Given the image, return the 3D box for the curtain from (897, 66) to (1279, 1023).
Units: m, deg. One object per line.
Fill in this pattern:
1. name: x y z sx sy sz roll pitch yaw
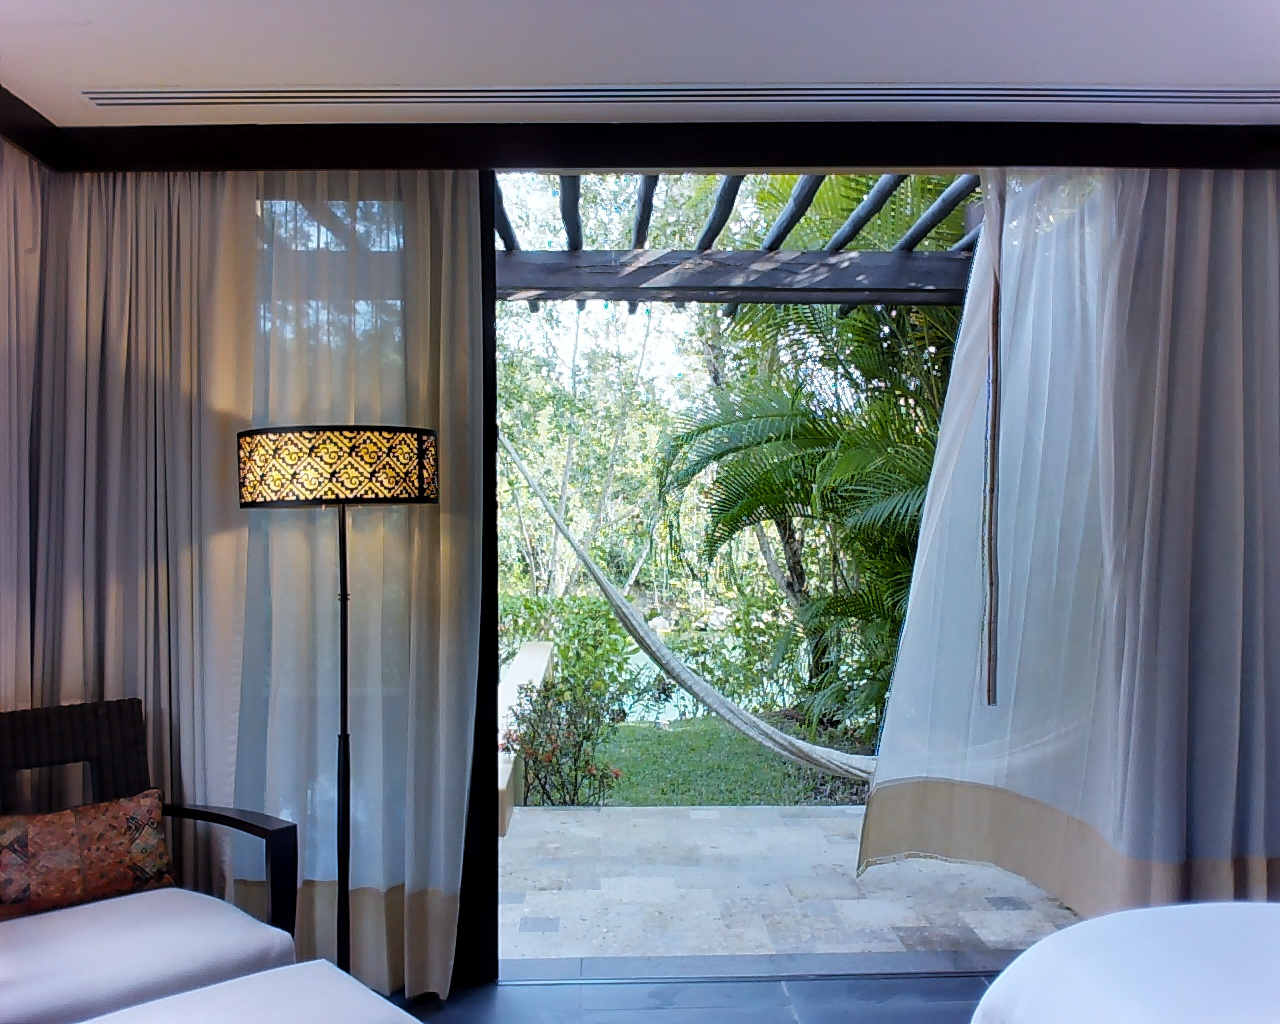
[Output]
1. curtain: 1.589 0.090 3.130 1.529 2.561 0.510 -1 0 -2

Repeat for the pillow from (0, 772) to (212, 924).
1. pillow: -1.369 0.820 2.670 0.210 0.220 0.530 -1 0 43

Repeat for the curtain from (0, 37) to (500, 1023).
1. curtain: -1.050 0.090 3.000 1.240 2.621 0.460 -1 0 -2

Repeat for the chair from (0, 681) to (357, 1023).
1. chair: -1.340 0.950 2.530 0.930 0.890 1.000 -1 0 -44
